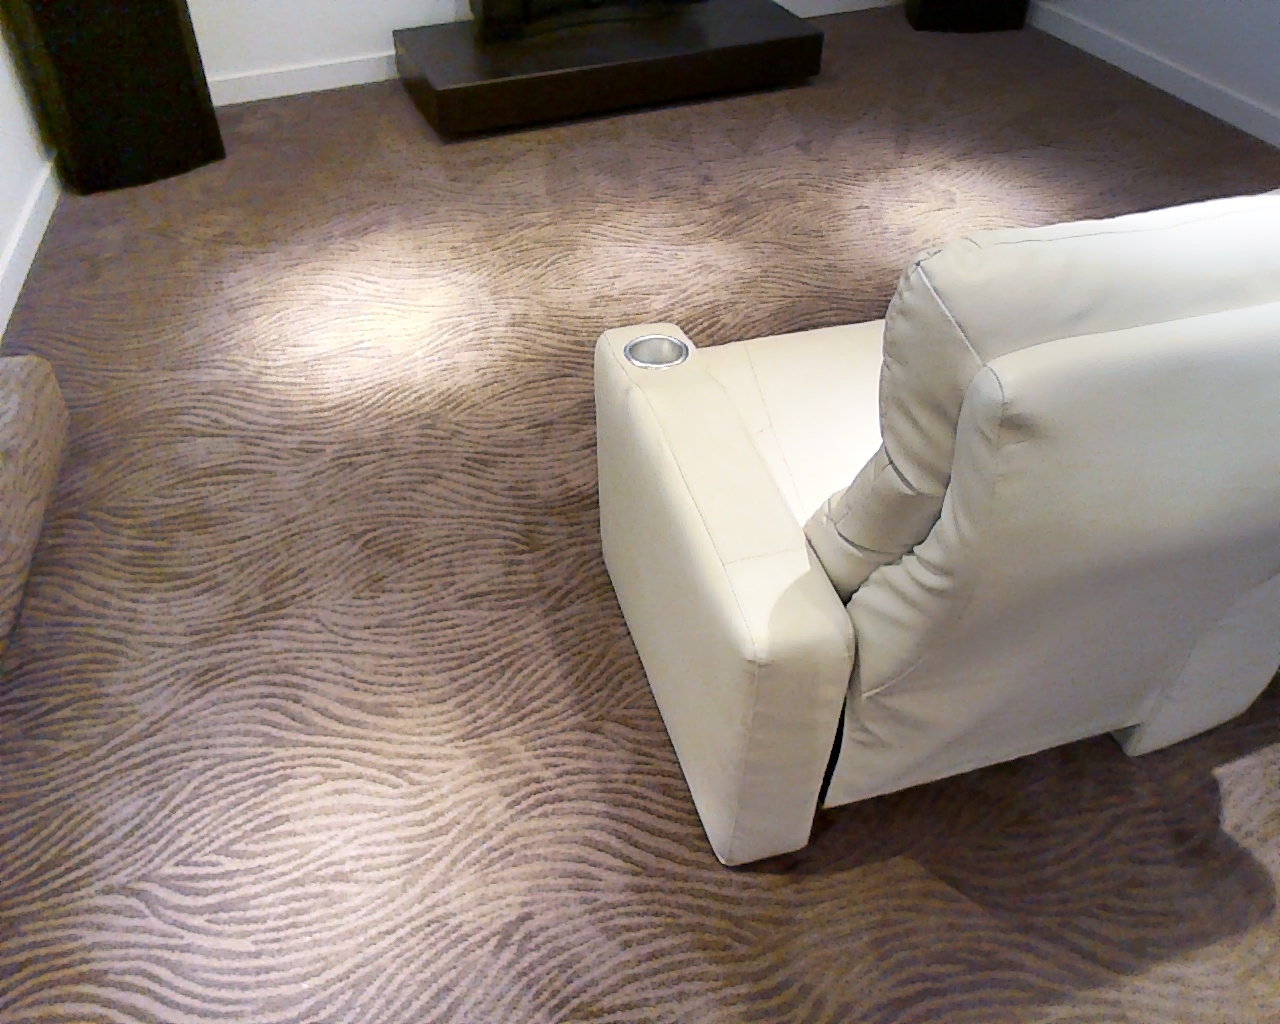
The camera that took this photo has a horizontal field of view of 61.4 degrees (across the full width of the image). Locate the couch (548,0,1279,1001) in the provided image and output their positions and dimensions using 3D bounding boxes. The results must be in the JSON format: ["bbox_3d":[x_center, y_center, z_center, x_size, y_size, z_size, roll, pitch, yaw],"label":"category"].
[{"bbox_3d":[0.400,-0.100,1.640,0.830,1.050,1.040,-10,44,-12],"label":"couch"}]

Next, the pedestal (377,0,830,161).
[{"bbox_3d":[-0.130,-1.640,3.930,1.480,0.210,0.670,-16,45,-18],"label":"pedestal"}]
